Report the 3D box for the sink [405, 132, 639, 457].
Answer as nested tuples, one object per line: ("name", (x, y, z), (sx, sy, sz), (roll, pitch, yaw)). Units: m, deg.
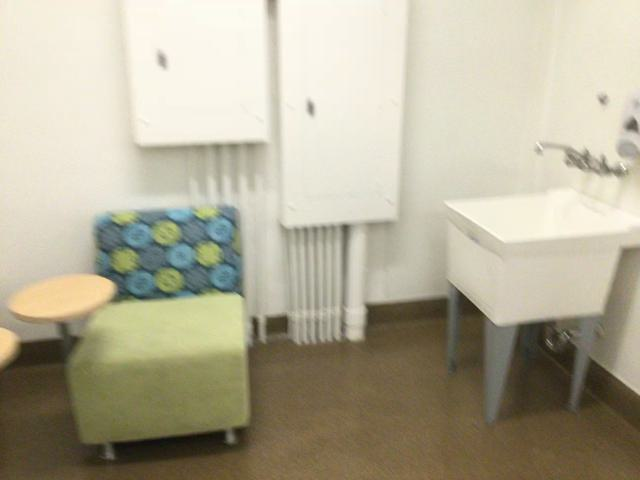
("sink", (0.810, 0.160, 2.330), (0.700, 1.070, 0.670), (-4, 18, -11))
